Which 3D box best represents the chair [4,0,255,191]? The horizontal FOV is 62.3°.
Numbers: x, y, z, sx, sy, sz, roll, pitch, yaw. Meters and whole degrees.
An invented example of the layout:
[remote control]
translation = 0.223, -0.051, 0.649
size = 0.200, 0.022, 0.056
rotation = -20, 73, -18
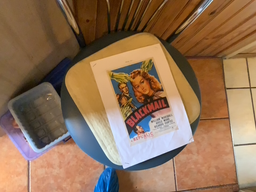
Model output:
[chair]
translation = 0.020, -0.030, 0.650
size = 0.440, 0.810, 0.470
rotation = -2, 82, -11
